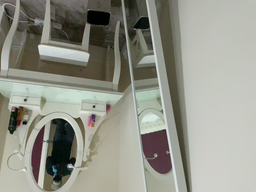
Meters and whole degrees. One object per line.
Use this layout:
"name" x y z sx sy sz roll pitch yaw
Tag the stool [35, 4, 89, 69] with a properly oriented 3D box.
"stool" -0.590 -0.530 1.940 0.410 0.460 0.230 5 162 -16
